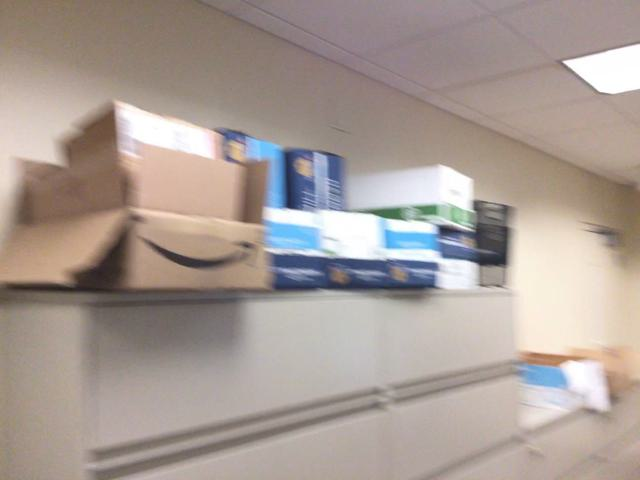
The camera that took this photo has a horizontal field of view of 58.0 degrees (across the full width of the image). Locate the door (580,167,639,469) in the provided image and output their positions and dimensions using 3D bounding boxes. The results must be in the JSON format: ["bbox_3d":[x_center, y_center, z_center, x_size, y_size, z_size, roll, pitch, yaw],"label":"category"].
[{"bbox_3d":[2.600,0.600,4.750,0.710,2.310,0.330,1,-7,-37],"label":"door"}]

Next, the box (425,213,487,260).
[{"bbox_3d":[0.540,-0.010,2.280,0.050,0.170,0.350,-8,-7,44],"label":"box"}]

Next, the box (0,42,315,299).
[{"bbox_3d":[-0.440,-0.100,1.440,0.520,0.450,0.650,-9,-8,44],"label":"box"}]

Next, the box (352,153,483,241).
[{"bbox_3d":[0.400,-0.160,2.400,0.340,0.280,0.390,1,-7,-40],"label":"box"}]

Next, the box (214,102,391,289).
[{"bbox_3d":[-0.050,-0.110,1.830,0.300,0.500,0.450,-9,-8,44],"label":"box"}]

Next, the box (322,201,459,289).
[{"bbox_3d":[0.270,0.030,2.160,0.270,0.280,0.450,-9,-8,44],"label":"box"}]
